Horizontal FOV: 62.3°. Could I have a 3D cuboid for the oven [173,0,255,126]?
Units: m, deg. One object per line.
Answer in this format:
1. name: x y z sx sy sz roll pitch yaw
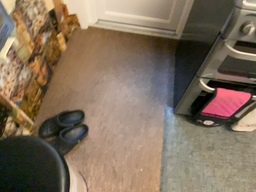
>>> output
1. oven: 0.650 -0.300 1.270 0.580 0.740 0.690 7 62 0
